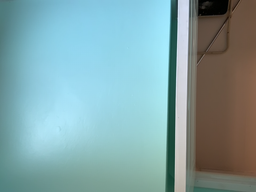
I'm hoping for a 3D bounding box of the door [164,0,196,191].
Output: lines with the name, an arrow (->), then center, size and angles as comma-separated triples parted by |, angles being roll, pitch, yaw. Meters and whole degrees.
door -> 0.290, -0.460, 1.050 | 0.070, 2.130, 0.770 | 1, -179, 19
